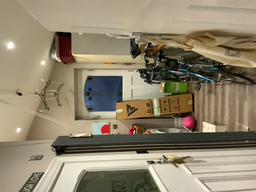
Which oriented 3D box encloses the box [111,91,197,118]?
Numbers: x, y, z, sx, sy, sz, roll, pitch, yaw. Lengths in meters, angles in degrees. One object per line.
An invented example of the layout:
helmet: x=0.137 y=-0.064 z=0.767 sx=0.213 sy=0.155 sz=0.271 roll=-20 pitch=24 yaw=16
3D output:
box: x=0.430 y=0.180 z=3.940 sx=0.680 sy=1.460 sz=0.390 roll=126 pitch=144 yaw=-76
